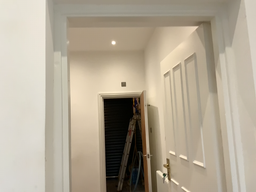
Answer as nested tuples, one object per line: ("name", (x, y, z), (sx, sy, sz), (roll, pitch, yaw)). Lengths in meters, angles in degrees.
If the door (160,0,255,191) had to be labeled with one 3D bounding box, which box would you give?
("door", (0.380, 0.640, 1.130), (0.060, 2.150, 0.810), (-1, -6, -9))
